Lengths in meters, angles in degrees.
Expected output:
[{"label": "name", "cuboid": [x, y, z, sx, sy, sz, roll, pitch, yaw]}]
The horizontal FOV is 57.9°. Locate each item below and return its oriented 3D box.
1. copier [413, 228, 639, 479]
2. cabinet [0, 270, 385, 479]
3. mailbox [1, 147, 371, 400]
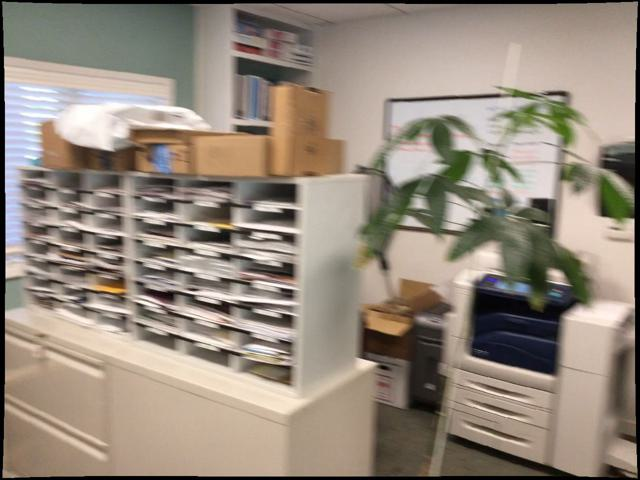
[{"label": "copier", "cuboid": [1.249, 0.561, 3.120, 1.279, 1.091, 0.690, 6, 11, 35]}, {"label": "cabinet", "cuboid": [-0.669, 0.771, 2.200, 1.779, 1.041, 0.510, 6, 11, 35]}, {"label": "mailbox", "cuboid": [-0.559, 0.010, 2.040, 1.509, 0.661, 0.320, 6, 11, 35]}]
